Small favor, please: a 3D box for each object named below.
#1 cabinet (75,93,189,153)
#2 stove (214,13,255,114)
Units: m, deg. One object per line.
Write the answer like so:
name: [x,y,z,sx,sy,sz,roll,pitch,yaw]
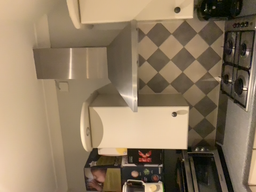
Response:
cabinet: [0.040,0.210,1.800,0.380,0.840,0.380,-75,-16,-73]
stove: [0.740,-0.250,1.510,0.570,0.020,0.590,-75,-16,-73]
